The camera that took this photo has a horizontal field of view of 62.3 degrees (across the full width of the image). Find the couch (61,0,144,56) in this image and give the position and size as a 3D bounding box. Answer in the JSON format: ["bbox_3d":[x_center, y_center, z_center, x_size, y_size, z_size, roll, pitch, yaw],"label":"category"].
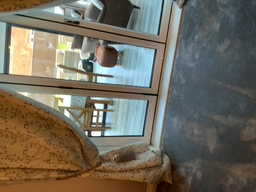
[{"bbox_3d":[-0.470,-1.340,3.290,1.020,0.930,0.930,-115,37,-48],"label":"couch"}]
